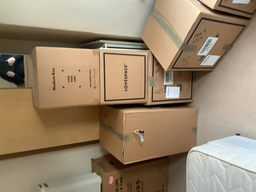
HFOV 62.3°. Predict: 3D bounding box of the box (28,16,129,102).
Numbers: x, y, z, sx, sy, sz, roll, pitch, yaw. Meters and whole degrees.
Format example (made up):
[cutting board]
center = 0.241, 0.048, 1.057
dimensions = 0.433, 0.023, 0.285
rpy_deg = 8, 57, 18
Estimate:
[box]
center = -0.390, -0.260, 1.660
dimensions = 0.450, 0.650, 0.520
rpy_deg = 12, 103, 58
